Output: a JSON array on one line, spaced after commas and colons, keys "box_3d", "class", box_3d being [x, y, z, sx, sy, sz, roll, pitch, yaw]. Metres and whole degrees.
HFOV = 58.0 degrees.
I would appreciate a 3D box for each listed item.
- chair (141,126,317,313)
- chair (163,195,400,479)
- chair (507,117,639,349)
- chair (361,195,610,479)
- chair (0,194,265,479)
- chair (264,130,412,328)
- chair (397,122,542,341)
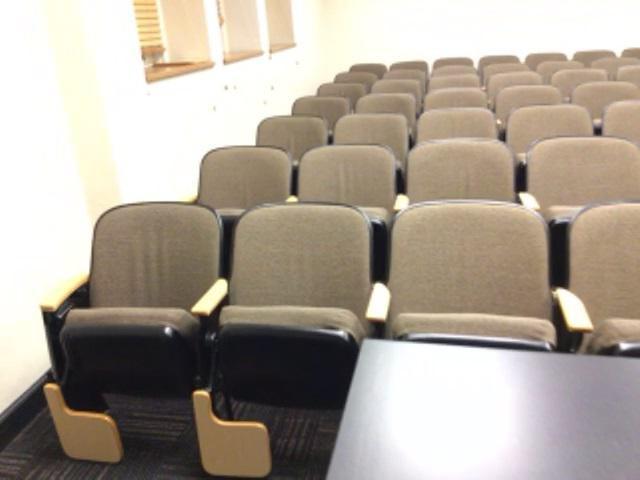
[{"box_3d": [-0.410, -0.110, 2.910, 0.620, 0.790, 0.510, -2, 21, 13], "class": "chair"}, {"box_3d": [-0.060, 0.310, 1.920, 0.580, 0.770, 0.570, 0, 21, 12], "class": "chair"}, {"box_3d": [1.150, -0.050, 2.500, 0.570, 0.830, 0.580, 0, 21, 12], "class": "chair"}, {"box_3d": [0.480, 0.310, 1.810, 0.590, 0.760, 0.550, 0, 21, 12], "class": "chair"}, {"box_3d": [-0.640, 0.300, 2.030, 0.670, 0.770, 0.580, 0, 21, 12], "class": "chair"}, {"box_3d": [0.130, -0.070, 2.780, 0.570, 0.780, 0.570, 0, 21, 12], "class": "chair"}, {"box_3d": [0.660, -0.060, 2.640, 0.540, 0.820, 0.600, 0, 21, 12], "class": "chair"}]
